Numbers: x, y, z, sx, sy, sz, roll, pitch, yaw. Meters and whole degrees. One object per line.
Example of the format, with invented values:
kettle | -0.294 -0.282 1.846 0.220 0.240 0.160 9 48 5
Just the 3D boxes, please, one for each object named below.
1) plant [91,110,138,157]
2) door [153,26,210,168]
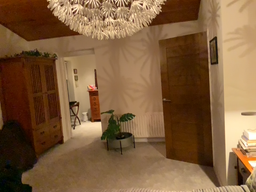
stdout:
plant | -0.220 0.690 4.060 0.690 0.690 0.680 -3 7 11
door | 0.810 0.040 3.270 0.770 2.030 0.100 0 8 37
